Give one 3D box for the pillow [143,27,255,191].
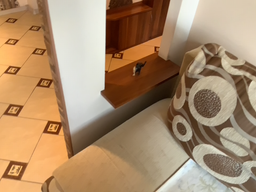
[{"bbox_3d":[0.500,0.210,0.740,0.300,0.490,0.890,-28,54,-31],"label":"pillow"}]
